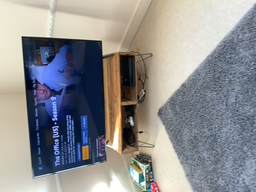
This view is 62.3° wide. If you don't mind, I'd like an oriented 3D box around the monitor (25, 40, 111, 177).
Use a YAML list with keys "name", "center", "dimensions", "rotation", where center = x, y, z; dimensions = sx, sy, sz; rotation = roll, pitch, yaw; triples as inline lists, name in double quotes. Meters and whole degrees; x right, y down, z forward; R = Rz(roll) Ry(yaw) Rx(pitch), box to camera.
- name: "monitor"
  center: [-0.530, 0.100, 2.020]
  dimensions: [0.060, 0.740, 1.190]
  rotation: [9, 102, 60]
